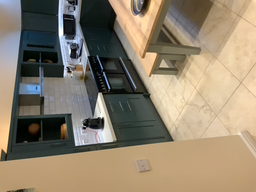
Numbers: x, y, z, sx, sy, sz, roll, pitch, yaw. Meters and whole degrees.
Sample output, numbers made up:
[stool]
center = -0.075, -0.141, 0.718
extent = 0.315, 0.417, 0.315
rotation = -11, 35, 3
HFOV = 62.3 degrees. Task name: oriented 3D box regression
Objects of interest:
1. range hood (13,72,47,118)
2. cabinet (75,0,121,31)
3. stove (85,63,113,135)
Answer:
[range hood]
center = -1.650, -0.040, 3.620
extent = 0.790, 0.470, 0.320
rotation = -114, 32, -42
[cabinet]
center = -0.730, -1.990, 5.040
extent = 0.600, 0.910, 0.580
rotation = -114, 32, -42
[stove]
center = -0.550, 0.020, 3.710
extent = 1.150, 0.150, 0.630
rotation = -114, 32, -43
